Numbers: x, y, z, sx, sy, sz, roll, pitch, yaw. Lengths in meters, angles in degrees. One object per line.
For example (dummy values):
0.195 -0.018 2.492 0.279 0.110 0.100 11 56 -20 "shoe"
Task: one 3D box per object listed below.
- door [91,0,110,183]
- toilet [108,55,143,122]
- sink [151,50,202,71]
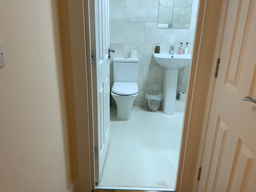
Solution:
-0.210 -0.340 1.750 0.020 2.000 0.720 2 20 2 "door"
-0.040 -0.130 3.000 0.420 0.790 0.610 2 20 0 "toilet"
0.650 -0.500 2.960 0.610 0.190 0.440 2 20 0 "sink"
